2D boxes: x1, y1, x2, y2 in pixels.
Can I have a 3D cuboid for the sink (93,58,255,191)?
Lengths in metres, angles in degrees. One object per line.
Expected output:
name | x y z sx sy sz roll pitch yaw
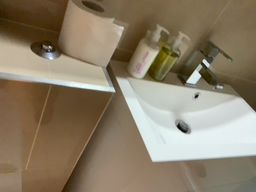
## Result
sink | 0.230 0.090 0.720 0.620 0.140 0.350 7 40 -31
